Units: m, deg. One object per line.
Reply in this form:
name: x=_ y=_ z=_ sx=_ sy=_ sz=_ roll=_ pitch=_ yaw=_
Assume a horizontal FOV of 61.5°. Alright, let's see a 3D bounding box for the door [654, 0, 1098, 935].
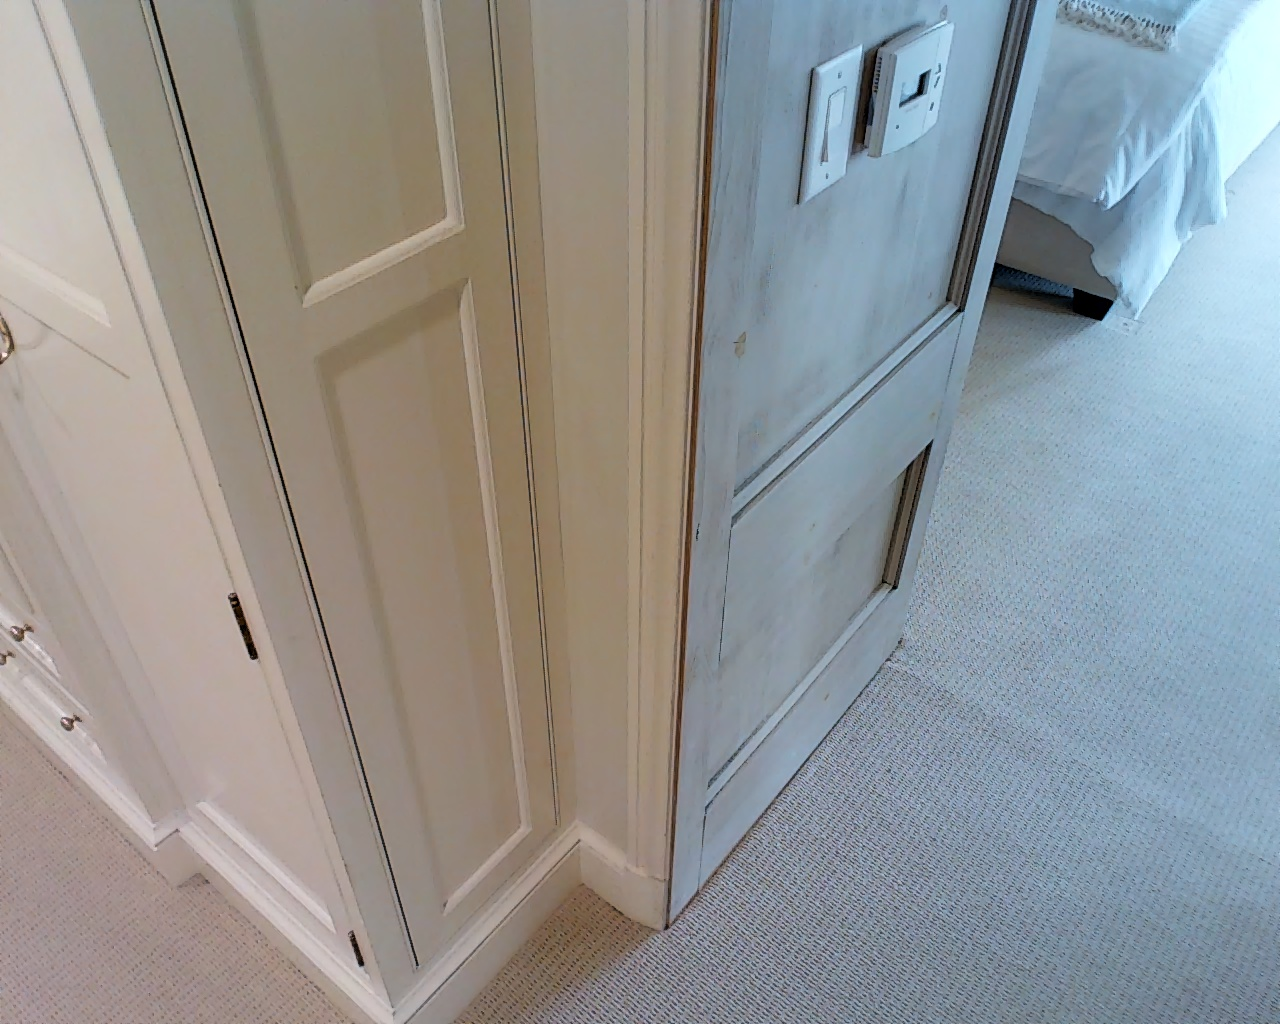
door: x=0.300 y=-0.340 z=1.210 sx=0.060 sy=2.060 sz=0.800 roll=28 pitch=49 yaw=27
